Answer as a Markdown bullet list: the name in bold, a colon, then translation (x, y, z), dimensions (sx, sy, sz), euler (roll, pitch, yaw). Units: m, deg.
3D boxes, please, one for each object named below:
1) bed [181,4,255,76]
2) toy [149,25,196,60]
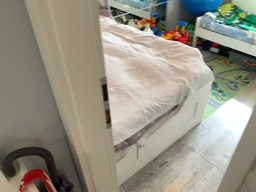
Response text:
- **bed**: translation (1.750, -0.690, 2.770), dimensions (0.880, 0.450, 1.850), euler (-29, 46, -30)
- **toy**: translation (0.640, -0.800, 3.130), dimensions (0.430, 0.260, 0.490), euler (-28, 45, -29)
